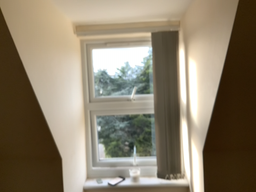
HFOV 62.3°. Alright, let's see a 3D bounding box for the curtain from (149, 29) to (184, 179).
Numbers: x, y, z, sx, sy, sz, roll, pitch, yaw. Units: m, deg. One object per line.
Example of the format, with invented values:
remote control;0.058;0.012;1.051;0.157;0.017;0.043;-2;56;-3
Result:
curtain;0.320;0.080;1.760;0.240;1.220;0.060;-2;3;5
